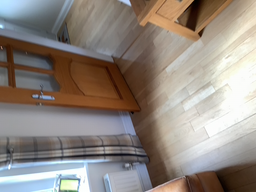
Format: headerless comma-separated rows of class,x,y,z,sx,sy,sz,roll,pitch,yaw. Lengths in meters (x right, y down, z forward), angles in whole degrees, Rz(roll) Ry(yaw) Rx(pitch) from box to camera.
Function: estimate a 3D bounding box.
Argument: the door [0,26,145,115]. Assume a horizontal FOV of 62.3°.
door,-0.790,-0.230,1.780,0.170,1.990,0.800,-54,48,31
